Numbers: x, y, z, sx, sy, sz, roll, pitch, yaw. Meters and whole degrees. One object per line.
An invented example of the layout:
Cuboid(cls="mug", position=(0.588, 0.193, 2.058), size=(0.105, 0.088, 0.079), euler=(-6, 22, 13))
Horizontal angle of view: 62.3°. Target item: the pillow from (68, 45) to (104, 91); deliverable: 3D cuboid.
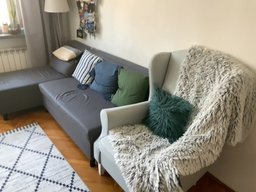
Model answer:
Cuboid(cls="pillow", position=(-0.560, -0.370, 2.770), size=(0.230, 0.400, 0.410), euler=(-16, 59, -36))

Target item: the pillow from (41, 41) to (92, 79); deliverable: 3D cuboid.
Cuboid(cls="pillow", position=(-0.950, -0.580, 3.260), size=(0.470, 0.350, 0.710), euler=(-17, 32, -36))

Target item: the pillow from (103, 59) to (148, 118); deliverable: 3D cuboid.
Cuboid(cls="pillow", position=(-0.050, -0.080, 2.170), size=(0.190, 0.410, 0.410), euler=(-10, 52, -32))

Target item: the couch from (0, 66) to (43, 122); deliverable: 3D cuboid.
Cuboid(cls="couch", position=(-1.520, -0.070, 2.820), size=(0.480, 0.440, 0.680), euler=(-17, 31, -35))

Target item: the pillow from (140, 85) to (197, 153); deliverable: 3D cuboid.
Cuboid(cls="pillow", position=(0.300, 0.170, 1.700), size=(0.200, 0.380, 0.370), euler=(-16, 31, -34))

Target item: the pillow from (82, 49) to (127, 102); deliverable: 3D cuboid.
Cuboid(cls="pillow", position=(-0.290, -0.240, 2.480), size=(0.260, 0.450, 0.380), euler=(-17, 60, -36))
